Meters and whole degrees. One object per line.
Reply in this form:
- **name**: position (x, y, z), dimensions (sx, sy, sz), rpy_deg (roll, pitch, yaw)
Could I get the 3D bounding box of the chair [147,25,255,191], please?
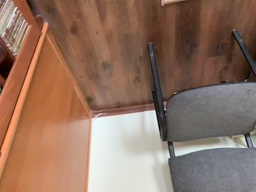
- **chair**: position (0.430, 0.130, 1.160), dimensions (0.510, 0.800, 0.580), rpy_deg (-8, 140, 5)
